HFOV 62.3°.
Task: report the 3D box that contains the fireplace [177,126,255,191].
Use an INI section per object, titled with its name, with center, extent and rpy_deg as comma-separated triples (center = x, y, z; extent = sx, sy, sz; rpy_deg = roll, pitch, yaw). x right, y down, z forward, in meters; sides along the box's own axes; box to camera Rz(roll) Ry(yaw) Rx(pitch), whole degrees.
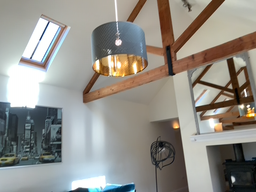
[fireplace]
center = 2.340, 1.540, 4.460
extent = 2.130, 1.620, 1.070
rpy_deg = -16, -19, 39
